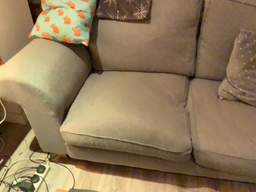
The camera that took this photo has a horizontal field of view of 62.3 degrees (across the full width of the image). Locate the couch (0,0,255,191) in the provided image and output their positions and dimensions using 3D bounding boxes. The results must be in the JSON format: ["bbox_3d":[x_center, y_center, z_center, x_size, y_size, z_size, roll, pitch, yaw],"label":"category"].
[{"bbox_3d":[0.400,-0.100,1.300,1.970,0.910,0.980,5,38,7],"label":"couch"}]
